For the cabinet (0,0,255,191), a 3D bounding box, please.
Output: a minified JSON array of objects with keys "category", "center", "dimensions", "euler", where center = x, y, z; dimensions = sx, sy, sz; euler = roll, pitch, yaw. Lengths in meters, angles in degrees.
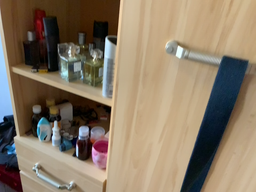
[{"category":"cabinet","center":[0.030,-0.050,0.690],"dimensions":[0.830,2.000,0.400],"euler":[18,30,19]}]
